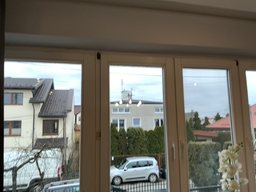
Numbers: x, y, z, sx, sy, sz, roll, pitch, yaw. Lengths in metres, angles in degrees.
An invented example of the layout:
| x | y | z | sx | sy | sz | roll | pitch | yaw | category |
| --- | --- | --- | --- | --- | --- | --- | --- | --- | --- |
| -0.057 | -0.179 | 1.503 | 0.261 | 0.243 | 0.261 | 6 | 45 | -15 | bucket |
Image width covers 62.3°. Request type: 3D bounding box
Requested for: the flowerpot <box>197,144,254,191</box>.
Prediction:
| x | y | z | sx | sy | sz | roll | pitch | yaw | category |
| --- | --- | --- | --- | --- | --- | --- | --- | --- | --- |
| 0.840 | 0.740 | 1.840 | 0.320 | 0.590 | 0.290 | 0 | -8 | -11 | flowerpot |
